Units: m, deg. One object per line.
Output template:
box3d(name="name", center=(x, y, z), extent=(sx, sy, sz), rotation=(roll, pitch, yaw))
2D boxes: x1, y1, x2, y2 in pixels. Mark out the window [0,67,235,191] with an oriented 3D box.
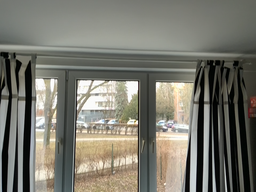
box3d(name="window", center=(-0.080, 0.500, 2.120), extent=(2.190, 1.510, 0.230), rotation=(1, -4, -1))
